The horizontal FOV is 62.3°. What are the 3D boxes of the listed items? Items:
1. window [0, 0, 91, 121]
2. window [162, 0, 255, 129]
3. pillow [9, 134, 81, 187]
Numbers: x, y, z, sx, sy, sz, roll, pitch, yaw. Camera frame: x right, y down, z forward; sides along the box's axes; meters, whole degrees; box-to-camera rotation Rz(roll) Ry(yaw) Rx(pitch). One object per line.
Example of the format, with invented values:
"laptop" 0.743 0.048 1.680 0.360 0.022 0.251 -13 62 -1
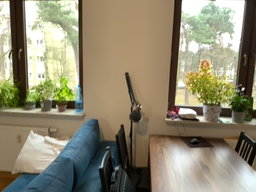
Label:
"window" -1.200 -0.490 2.560 1.510 1.500 0.110 3 10 8
"window" 1.260 -0.420 2.480 1.610 1.560 0.240 3 10 7
"pillow" -0.870 0.670 2.300 0.570 0.340 0.450 3 10 8
